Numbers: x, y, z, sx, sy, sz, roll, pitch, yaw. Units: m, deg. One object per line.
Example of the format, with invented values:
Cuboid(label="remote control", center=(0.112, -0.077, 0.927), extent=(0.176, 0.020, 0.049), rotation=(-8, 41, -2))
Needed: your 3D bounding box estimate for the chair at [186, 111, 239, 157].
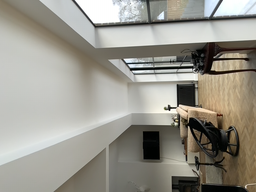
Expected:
Cuboid(label="chair", center=(1.510, 0.720, 3.930), extent=(0.610, 0.730, 0.690), rotation=(74, -163, -63))

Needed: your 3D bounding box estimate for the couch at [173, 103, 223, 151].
Cuboid(label="couch", center=(1.640, 0.670, 5.330), extent=(1.840, 0.850, 0.950), rotation=(0, -90, -83))
